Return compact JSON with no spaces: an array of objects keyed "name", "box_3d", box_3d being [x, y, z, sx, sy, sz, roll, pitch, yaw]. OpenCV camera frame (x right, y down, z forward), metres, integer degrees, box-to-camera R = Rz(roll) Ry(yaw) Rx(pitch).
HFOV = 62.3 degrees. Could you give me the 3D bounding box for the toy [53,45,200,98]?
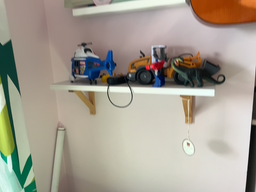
[{"name":"toy","box_3d":[-0.030,-0.140,1.080,0.720,0.200,0.210,5,15,28]}]
